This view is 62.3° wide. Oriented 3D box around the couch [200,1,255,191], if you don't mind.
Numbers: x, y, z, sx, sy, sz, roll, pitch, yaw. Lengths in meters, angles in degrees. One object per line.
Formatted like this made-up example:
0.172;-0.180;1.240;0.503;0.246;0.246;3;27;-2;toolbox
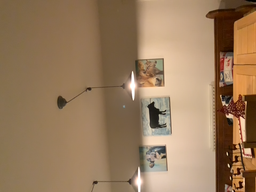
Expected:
1.540;0.410;2.890;0.580;0.920;3.080;-52;-41;-81;couch
